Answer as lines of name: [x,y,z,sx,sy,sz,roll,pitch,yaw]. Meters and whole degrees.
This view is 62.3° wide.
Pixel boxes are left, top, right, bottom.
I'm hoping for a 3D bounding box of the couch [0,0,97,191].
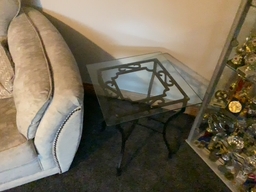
couch: [-0.970,-0.060,1.220,1.280,0.940,1.040,-14,47,-19]
